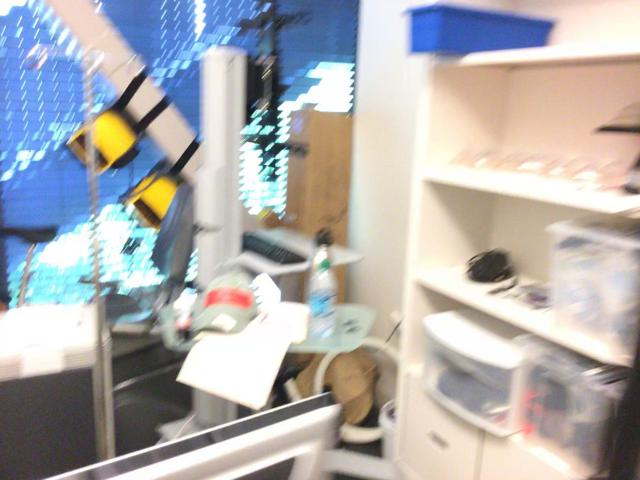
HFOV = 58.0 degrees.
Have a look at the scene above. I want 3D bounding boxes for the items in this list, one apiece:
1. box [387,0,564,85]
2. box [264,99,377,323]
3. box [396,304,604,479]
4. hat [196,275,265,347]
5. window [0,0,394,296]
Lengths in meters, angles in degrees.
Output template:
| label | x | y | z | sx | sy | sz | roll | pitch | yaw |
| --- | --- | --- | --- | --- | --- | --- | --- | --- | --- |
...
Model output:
| label | x | y | z | sx | sy | sz | roll | pitch | yaw |
| --- | --- | --- | --- | --- | --- | --- | --- | --- | --- |
| box | 0.490 | -0.630 | 1.820 | 0.500 | 0.180 | 0.230 | 2 | 7 | -28 |
| box | -0.010 | -0.150 | 2.870 | 0.440 | 1.020 | 0.330 | -3 | 9 | -27 |
| box | 0.560 | 0.490 | 1.890 | 0.390 | 0.420 | 0.500 | -3 | 9 | -27 |
| hat | -0.240 | 0.190 | 1.600 | 0.170 | 0.140 | 0.230 | 0 | 8 | -5 |
| window | -0.770 | -0.560 | 2.900 | 2.410 | 1.490 | 0.410 | -3 | 9 | -27 |
